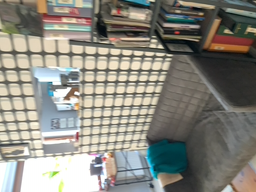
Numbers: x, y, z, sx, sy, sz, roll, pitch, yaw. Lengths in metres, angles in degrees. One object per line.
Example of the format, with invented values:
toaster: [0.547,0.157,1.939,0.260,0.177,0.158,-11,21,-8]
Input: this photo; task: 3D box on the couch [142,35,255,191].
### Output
couch: [0.670,0.240,1.830,0.730,0.690,1.240,-108,23,-46]
